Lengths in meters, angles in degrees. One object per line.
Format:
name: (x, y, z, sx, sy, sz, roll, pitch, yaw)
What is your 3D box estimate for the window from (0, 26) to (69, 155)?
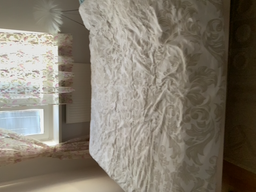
window: (-1.640, -0.060, 2.580, 0.330, 1.750, 1.500, 12, 102, 60)
